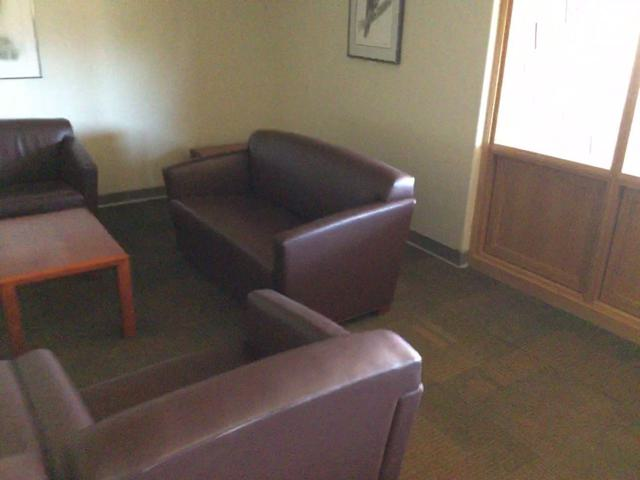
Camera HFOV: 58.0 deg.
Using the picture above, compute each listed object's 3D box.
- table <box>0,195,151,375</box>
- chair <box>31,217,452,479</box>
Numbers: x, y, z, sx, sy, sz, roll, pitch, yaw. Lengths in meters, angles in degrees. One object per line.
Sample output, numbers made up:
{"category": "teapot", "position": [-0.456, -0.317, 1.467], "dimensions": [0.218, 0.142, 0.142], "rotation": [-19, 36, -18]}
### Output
{"category": "table", "position": [-1.200, 0.150, 2.620], "dimensions": [0.560, 0.440, 0.750], "rotation": [-15, 27, -33]}
{"category": "chair", "position": [-0.240, 0.450, 1.510], "dimensions": [0.710, 0.710, 0.800], "rotation": [-13, 26, -32]}
